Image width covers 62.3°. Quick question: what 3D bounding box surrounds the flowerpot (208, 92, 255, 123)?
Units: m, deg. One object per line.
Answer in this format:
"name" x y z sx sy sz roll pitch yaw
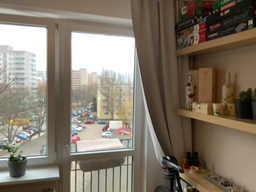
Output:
"flowerpot" 0.800 0.070 1.320 0.240 0.160 0.540 0 4 -26
